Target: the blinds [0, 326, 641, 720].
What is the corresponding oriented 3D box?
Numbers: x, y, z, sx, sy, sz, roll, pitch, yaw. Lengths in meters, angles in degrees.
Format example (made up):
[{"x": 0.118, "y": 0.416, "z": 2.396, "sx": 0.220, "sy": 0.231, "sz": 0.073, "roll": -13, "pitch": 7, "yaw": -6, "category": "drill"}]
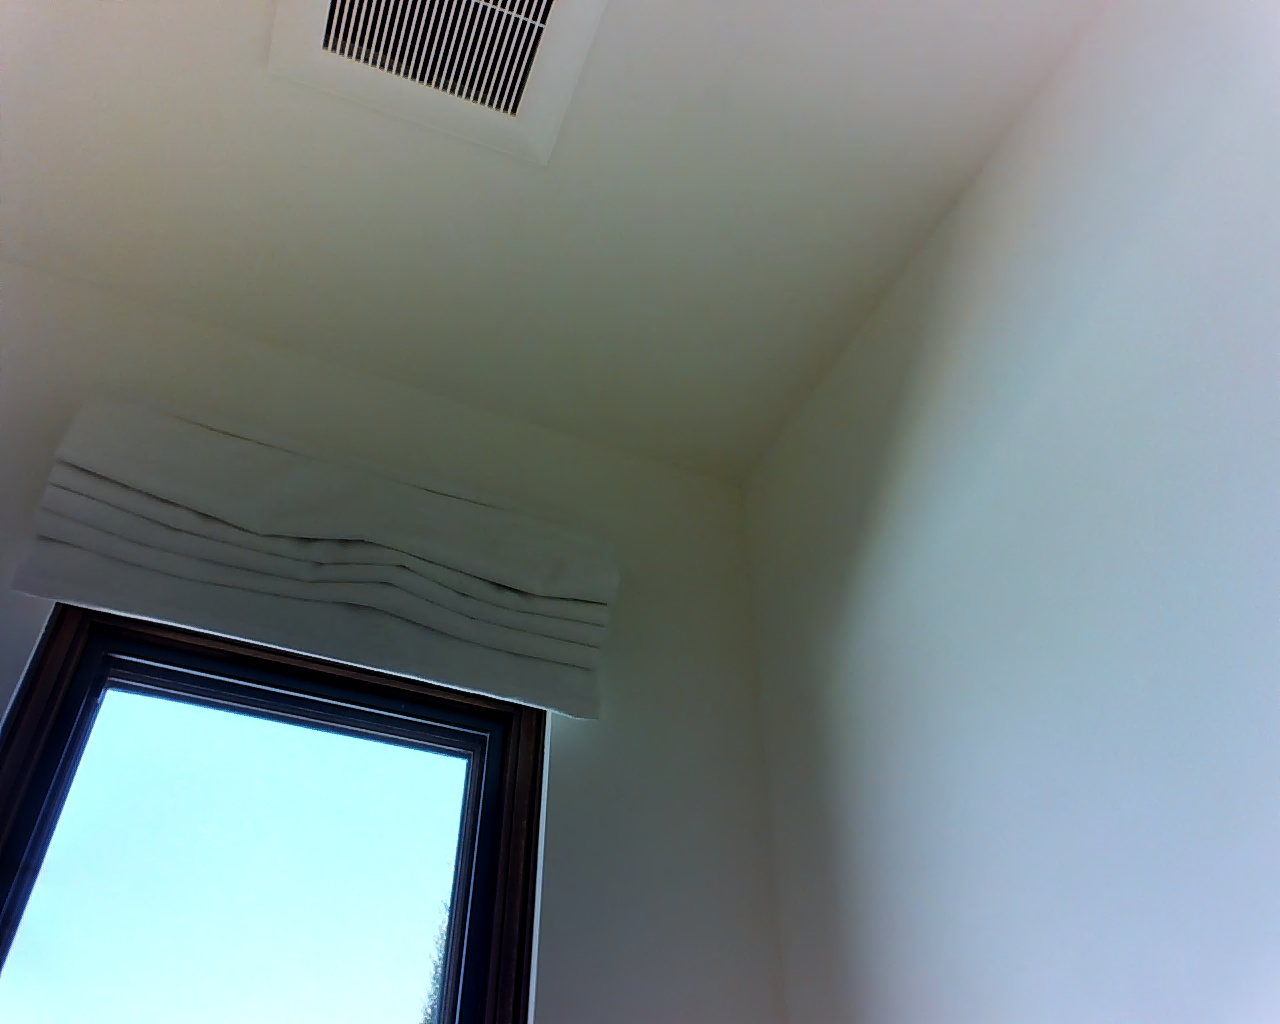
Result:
[{"x": -0.340, "y": 0.020, "z": 1.310, "sx": 0.700, "sy": 0.310, "sz": 0.100, "roll": 17, "pitch": -44, "yaw": -17, "category": "blinds"}]
